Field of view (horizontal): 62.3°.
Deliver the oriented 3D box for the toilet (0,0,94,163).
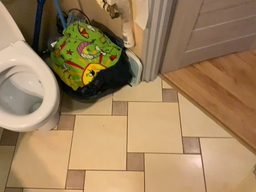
[{"bbox_3d":[-0.580,-0.120,1.020,0.650,0.820,0.370,41,71,19],"label":"toilet"}]
